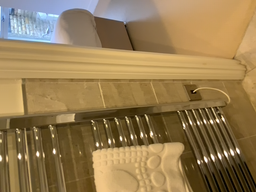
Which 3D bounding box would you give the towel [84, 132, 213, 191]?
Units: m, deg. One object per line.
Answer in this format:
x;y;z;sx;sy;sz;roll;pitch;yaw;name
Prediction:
0.070;0.270;0.590;0.140;0.300;0.270;-42;58;50;towel
